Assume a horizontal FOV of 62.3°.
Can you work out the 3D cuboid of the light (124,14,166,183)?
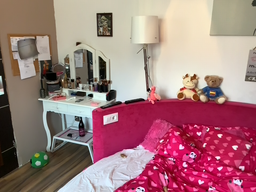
[{"bbox_3d":[0.180,0.050,2.350,0.260,1.750,0.430,8,18,24],"label":"light"}]
